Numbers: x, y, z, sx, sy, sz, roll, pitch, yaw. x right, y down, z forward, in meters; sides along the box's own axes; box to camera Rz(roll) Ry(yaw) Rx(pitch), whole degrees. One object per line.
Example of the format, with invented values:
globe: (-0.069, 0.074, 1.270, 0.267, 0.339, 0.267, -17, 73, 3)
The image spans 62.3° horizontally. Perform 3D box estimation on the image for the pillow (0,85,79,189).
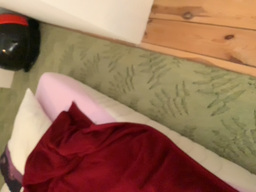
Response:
pillow: (-0.520, 0.210, 1.200, 0.360, 0.210, 0.420, 31, 104, 42)
